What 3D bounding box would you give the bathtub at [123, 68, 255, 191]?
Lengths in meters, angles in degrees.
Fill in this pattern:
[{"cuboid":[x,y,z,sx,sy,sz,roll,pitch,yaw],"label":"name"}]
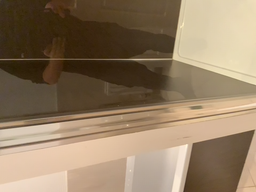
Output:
[{"cuboid":[0.390,0.670,1.770,0.680,0.590,1.660,-141,51,-57],"label":"bathtub"}]
